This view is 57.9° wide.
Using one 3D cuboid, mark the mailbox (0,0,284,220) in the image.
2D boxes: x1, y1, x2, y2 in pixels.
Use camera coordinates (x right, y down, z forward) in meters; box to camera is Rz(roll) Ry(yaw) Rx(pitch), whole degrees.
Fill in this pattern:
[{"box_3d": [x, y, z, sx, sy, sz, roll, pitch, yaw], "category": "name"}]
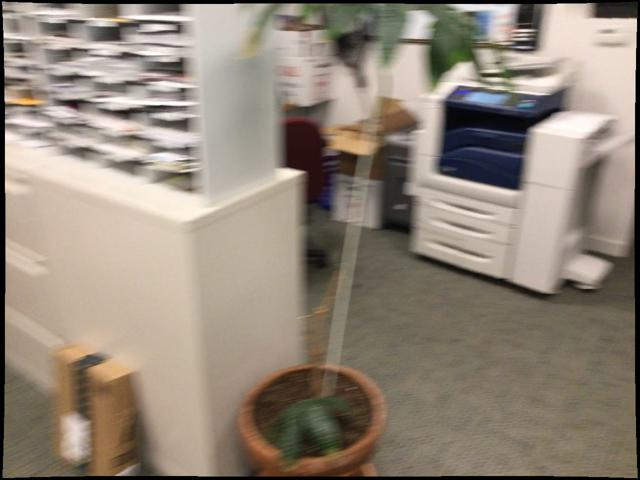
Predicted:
[{"box_3d": [-0.809, -0.601, 1.850, 1.479, 0.671, 0.350, 18, 32, 33], "category": "mailbox"}]
